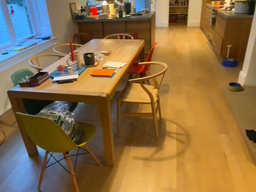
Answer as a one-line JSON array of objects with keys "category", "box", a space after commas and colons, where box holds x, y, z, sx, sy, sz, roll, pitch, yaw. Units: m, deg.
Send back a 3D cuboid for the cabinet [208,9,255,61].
[{"category": "cabinet", "box": [2.280, -1.390, 4.710, 0.670, 0.890, 1.180, 3, 28, 11]}]
